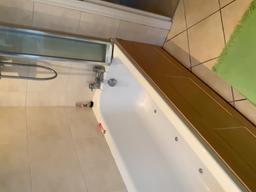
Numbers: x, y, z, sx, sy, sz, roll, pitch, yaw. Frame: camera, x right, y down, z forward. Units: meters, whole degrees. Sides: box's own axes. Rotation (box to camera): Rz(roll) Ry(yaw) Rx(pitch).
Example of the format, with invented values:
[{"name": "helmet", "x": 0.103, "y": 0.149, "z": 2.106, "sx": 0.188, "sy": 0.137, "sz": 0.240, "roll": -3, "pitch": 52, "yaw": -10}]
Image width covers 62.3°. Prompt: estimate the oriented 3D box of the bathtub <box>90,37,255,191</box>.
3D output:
[{"name": "bathtub", "x": 0.300, "y": 0.290, "z": 1.540, "sx": 1.690, "sy": 0.560, "sz": 0.760, "roll": 55, "pitch": 135, "yaw": 46}]
